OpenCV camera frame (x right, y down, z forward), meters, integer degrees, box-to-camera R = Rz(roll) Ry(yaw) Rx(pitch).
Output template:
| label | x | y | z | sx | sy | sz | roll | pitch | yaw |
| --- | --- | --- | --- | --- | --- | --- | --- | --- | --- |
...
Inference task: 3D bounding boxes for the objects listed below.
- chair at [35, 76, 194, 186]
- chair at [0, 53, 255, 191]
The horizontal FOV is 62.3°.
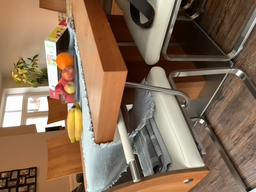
| label | x | y | z | sx | sy | sz | roll | pitch | yaw |
| --- | --- | --- | --- | --- | --- | --- | --- | --- | --- |
| chair | -0.130 | 0.240 | 1.610 | 0.580 | 0.970 | 0.450 | 102 | 156 | -43 |
| chair | 0.080 | 0.200 | 0.900 | 0.470 | 0.980 | 0.580 | 105 | 154 | -48 |
